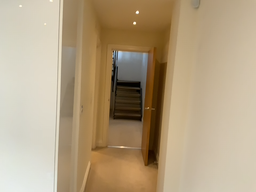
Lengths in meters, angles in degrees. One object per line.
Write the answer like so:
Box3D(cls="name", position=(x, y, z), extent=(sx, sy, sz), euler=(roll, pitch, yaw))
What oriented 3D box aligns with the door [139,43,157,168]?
Box3D(cls="door", position=(0.340, 0.140, 3.830), extent=(0.050, 2.030, 0.880), euler=(4, 7, -1))
